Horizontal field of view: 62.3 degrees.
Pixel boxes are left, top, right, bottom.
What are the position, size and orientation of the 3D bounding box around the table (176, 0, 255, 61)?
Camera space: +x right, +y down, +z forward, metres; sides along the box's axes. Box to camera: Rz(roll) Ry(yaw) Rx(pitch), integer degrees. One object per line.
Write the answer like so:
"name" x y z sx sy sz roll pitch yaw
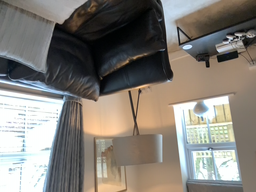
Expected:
"table" 1.160 -0.750 2.400 1.010 0.250 0.660 -13 163 35
